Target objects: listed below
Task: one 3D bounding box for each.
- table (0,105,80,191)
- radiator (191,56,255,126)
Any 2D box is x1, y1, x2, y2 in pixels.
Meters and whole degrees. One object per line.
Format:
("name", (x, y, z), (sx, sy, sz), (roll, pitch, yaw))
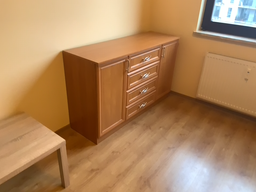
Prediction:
("table", (-0.790, 0.480, 1.530), (0.590, 0.460, 0.590), (21, 33, 30))
("radiator", (1.350, -0.030, 2.480), (1.120, 0.610, 0.160), (23, 34, 32))
